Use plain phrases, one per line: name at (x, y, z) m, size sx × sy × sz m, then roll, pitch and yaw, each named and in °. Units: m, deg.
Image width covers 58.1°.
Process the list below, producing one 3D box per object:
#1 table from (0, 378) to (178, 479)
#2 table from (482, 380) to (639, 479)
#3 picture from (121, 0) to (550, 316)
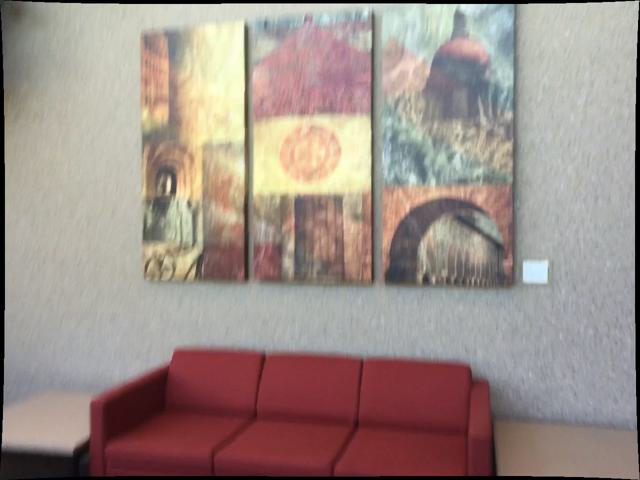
table at (-1.428, 1.112, 3.300) m, size 0.849 × 0.321 × 0.930 m, roll 1°, pitch 2°, yaw 15°
table at (1.188, 0.952, 2.600) m, size 0.869 × 0.341 × 0.860 m, roll 1°, pitch 2°, yaw 15°
picture at (0.000, -0.521, 3.190) m, size 2.306 × 1.703 × 0.320 m, roll 1°, pitch 2°, yaw 15°
